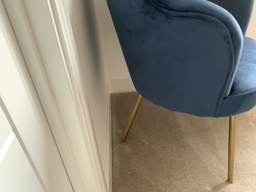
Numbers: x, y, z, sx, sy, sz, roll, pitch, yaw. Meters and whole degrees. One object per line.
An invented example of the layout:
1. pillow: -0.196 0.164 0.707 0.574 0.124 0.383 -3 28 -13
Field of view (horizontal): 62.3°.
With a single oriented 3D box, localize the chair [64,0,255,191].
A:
1. chair: 0.270 -0.200 0.940 0.660 0.850 0.710 17 40 27
